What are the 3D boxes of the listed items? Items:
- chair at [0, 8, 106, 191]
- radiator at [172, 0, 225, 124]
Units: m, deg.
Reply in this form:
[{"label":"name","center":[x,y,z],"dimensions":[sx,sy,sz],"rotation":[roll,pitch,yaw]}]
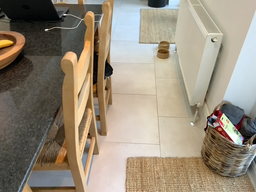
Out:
[{"label":"chair","center":[-0.410,0.130,1.100],"dimensions":[0.490,0.980,0.470],"rotation":[2,40,1]},{"label":"radiator","center":[0.590,-0.430,2.030],"dimensions":[0.150,0.730,1.200],"rotation":[4,40,4]}]
